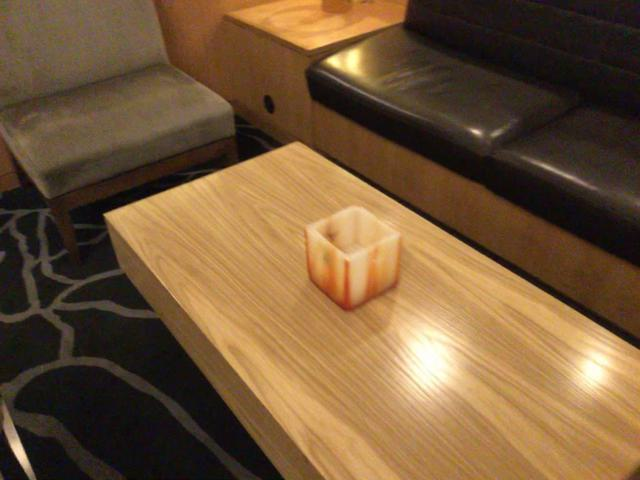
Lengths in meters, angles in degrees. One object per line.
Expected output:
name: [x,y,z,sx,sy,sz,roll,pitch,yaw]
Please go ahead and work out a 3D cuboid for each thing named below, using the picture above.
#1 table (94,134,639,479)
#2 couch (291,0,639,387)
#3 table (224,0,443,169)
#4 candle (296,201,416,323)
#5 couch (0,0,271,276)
table: [0.060,0.270,1.370,0.650,0.480,1.230,-25,42,-29]
couch: [0.740,-0.410,1.850,0.690,0.950,1.880,-25,42,-29]
table: [0.050,-0.810,2.700,0.670,0.540,0.710,-25,42,-29]
candle: [0.070,0.040,1.190,0.160,0.130,0.180,-25,42,-29]
couch: [-0.790,-0.530,2.210,0.860,0.770,0.800,-25,42,-29]
